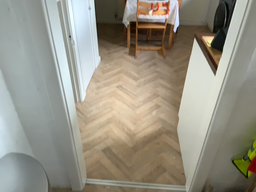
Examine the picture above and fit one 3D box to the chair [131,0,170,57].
[{"bbox_3d":[0.320,-1.080,3.270,0.500,0.780,0.530,3,36,2],"label":"chair"}]
